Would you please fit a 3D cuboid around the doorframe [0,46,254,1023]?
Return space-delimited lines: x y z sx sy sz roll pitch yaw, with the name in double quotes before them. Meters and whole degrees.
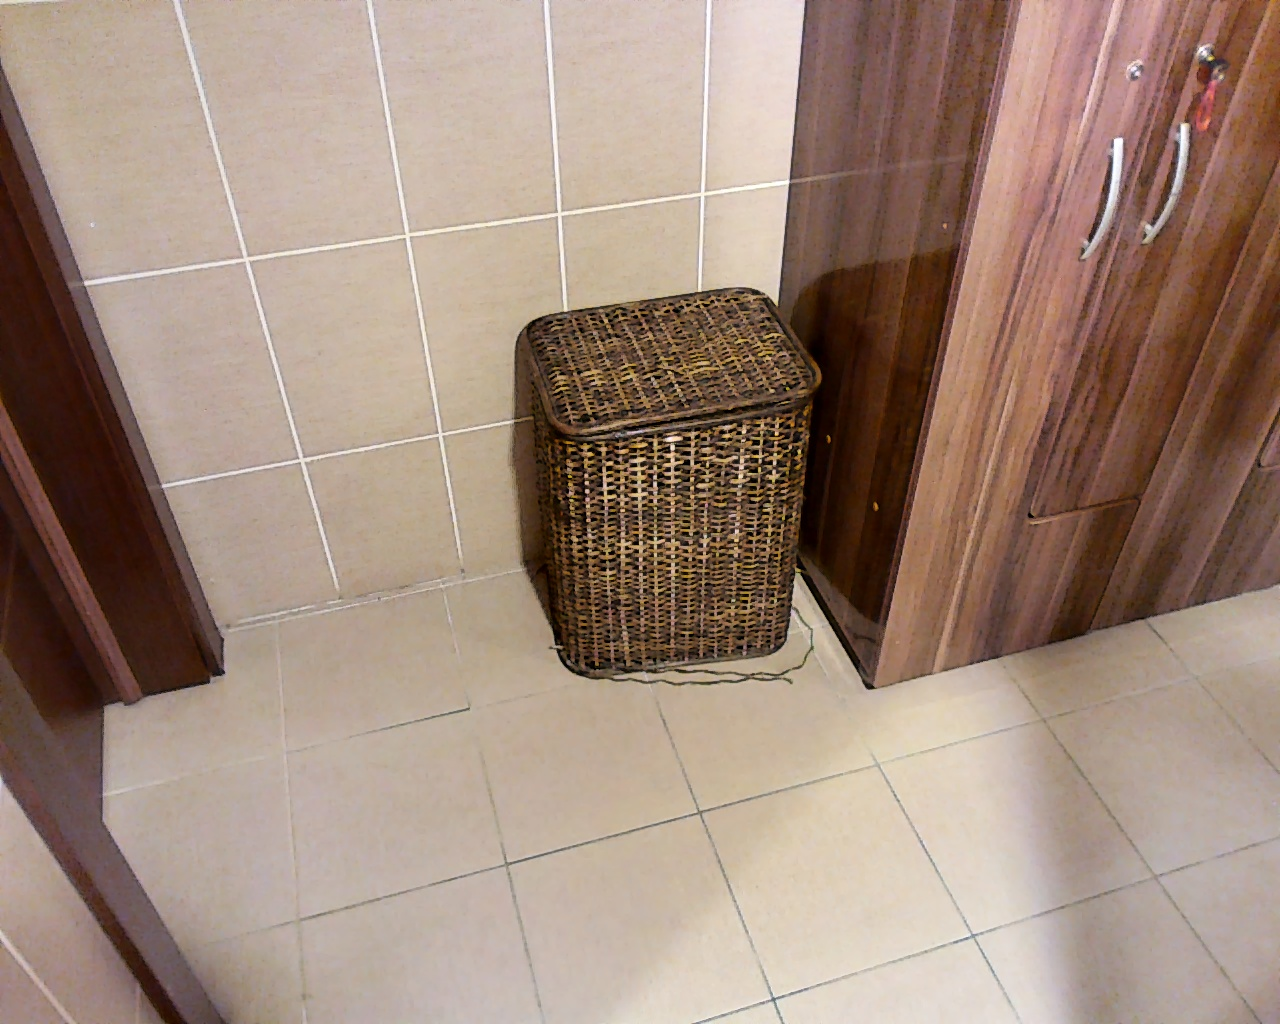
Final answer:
"doorframe" -0.790 -0.300 1.040 0.220 2.310 0.880 -13 43 -13
